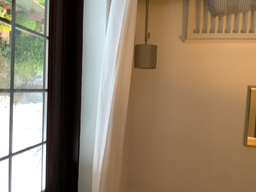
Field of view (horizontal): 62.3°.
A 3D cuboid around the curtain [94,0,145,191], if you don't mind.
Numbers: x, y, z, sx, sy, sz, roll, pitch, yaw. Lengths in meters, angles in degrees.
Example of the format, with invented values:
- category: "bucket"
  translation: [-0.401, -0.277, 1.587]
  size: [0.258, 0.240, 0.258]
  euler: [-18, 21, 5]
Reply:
- category: "curtain"
  translation: [-0.010, -0.330, 1.270]
  size: [0.130, 2.380, 0.630]
  euler: [3, -177, 11]
